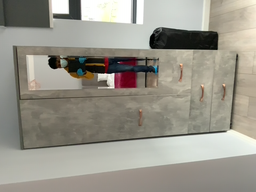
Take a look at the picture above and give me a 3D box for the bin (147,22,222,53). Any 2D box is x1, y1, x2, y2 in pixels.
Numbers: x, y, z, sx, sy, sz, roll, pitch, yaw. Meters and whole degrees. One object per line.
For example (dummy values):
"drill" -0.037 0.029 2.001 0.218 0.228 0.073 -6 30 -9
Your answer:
"bin" 0.580 -0.590 2.200 0.220 0.720 0.270 -144 54 -71
